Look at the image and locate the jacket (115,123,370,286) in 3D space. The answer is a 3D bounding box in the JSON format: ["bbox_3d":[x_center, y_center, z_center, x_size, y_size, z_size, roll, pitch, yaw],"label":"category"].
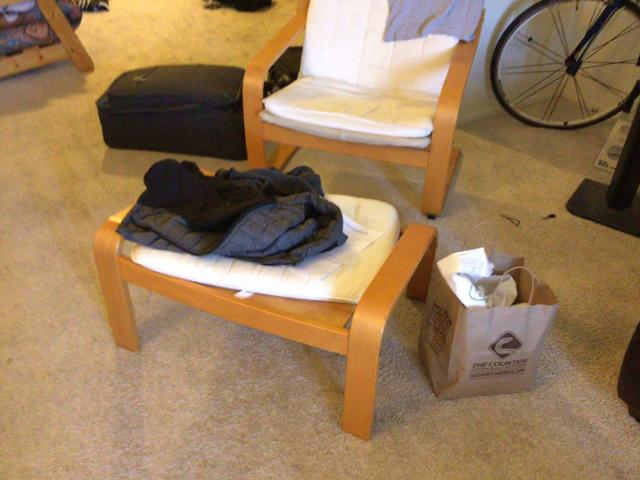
[{"bbox_3d":[-0.170,-0.120,1.510,0.520,0.120,0.460,10,37,10],"label":"jacket"}]

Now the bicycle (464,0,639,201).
[{"bbox_3d":[1.280,-0.690,2.090,0.490,0.940,1.290,-26,45,-33],"label":"bicycle"}]

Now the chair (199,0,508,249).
[{"bbox_3d":[0.190,-0.700,2.170,0.890,0.930,0.950,12,38,13],"label":"chair"}]
